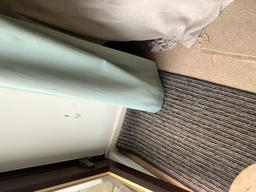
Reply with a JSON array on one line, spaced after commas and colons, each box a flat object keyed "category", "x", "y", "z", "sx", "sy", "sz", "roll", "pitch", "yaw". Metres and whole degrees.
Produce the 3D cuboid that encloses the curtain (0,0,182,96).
[{"category": "curtain", "x": -0.580, "y": -0.230, "z": 0.460, "sx": 0.350, "sy": 2.430, "sz": 0.170, "roll": 23, "pitch": 100, "yaw": 38}]
